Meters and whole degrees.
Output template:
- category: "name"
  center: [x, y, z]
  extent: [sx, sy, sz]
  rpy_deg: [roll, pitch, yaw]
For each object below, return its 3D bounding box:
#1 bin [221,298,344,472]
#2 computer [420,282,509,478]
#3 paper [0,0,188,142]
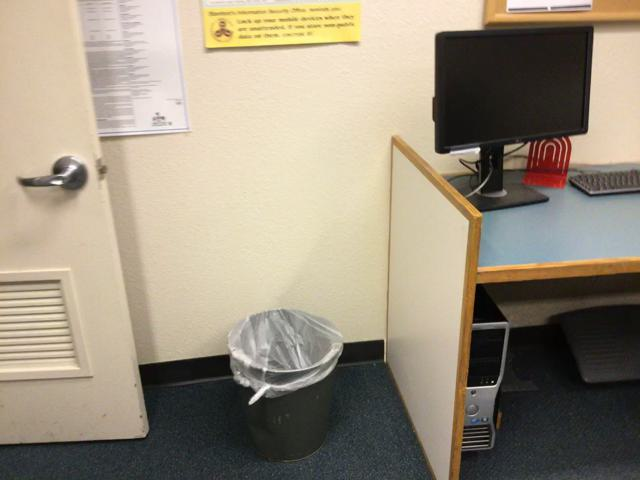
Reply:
- category: "bin"
  center: [-0.110, 0.440, 1.820]
  extent: [0.330, 0.360, 0.370]
  rpy_deg: [-3, 22, -3]
- category: "computer"
  center: [0.410, 0.410, 1.700]
  extent: [0.170, 0.520, 0.220]
  rpy_deg: [-3, 22, -3]
- category: "paper"
  center: [-0.650, -0.710, 1.580]
  extent: [0.460, 0.860, 0.060]
  rpy_deg: [-3, 22, -3]
